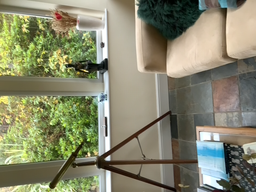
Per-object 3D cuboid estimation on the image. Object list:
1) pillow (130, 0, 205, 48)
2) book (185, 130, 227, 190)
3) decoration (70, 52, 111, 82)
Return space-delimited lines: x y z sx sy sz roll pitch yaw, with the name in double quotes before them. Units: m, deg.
"pillow" 0.300 -0.710 1.810 0.570 0.370 0.390 164 106 -67
"book" 0.530 0.420 1.470 0.310 0.070 0.340 169 101 -68
"decoration" -0.470 -0.350 2.620 0.270 0.450 0.270 152 116 -66
